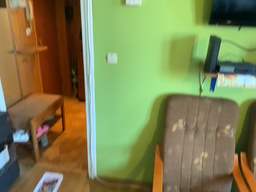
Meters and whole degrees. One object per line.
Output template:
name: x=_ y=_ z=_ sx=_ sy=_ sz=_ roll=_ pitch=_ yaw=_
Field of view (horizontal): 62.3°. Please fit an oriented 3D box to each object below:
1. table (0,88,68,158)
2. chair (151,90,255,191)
table: x=-1.150 y=0.290 z=2.680 sx=0.440 sy=0.520 sz=0.800 roll=6 pitch=22 yaw=8
chair: x=0.510 y=0.580 z=1.510 sx=0.640 sy=1.000 sz=0.750 roll=5 pitch=22 yaw=8
